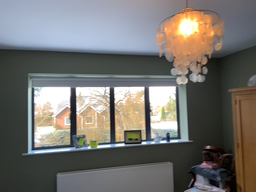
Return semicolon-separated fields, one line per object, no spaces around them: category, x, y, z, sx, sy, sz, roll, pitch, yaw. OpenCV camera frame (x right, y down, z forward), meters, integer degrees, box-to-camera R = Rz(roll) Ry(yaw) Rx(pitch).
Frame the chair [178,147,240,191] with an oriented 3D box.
chair;1.200;1.310;3.110;0.650;0.960;0.600;1;-4;-42
